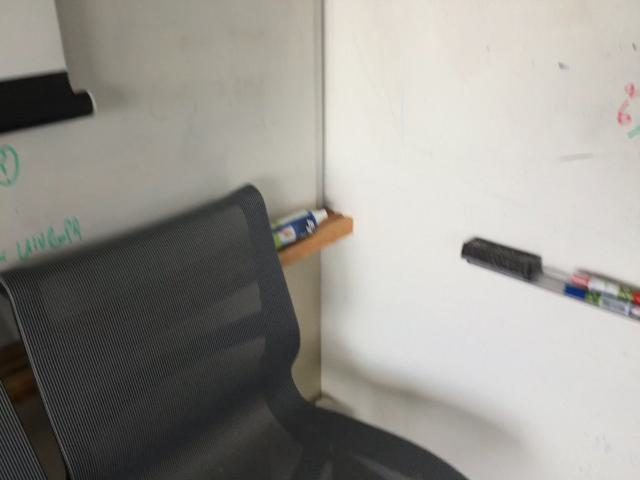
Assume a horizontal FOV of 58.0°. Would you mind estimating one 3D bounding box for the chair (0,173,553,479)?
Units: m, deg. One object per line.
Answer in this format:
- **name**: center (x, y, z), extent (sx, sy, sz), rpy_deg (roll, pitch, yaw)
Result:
- **chair**: center (-0.090, 0.470, 0.960), extent (0.570, 0.930, 0.640), rpy_deg (19, 32, 37)
